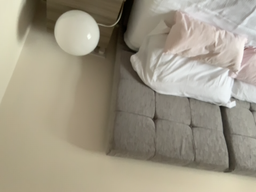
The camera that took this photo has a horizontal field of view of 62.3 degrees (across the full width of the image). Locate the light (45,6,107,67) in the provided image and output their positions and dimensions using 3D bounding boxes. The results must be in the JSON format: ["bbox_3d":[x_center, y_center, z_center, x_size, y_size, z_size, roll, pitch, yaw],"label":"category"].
[{"bbox_3d":[-0.280,-0.320,1.170,0.280,0.180,0.200,10,150,-10],"label":"light"}]

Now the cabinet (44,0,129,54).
[{"bbox_3d":[-0.250,-0.670,1.370,0.430,0.530,0.460,12,150,-13],"label":"cabinet"}]
